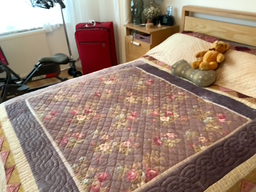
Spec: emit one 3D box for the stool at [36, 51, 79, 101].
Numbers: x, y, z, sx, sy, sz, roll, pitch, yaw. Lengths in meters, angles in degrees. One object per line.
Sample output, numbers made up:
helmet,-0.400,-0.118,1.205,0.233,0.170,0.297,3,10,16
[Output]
stool,-0.880,-0.260,2.680,0.350,0.500,0.280,-21,34,-28
